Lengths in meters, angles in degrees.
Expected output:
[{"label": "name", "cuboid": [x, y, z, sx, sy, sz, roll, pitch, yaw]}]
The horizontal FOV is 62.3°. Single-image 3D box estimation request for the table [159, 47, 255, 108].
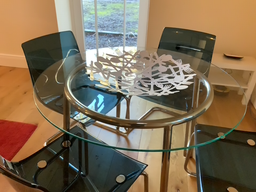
[{"label": "table", "cuboid": [0.850, -0.220, 2.370, 0.910, 0.450, 0.330, 9, 33, 10]}]
